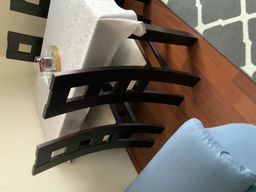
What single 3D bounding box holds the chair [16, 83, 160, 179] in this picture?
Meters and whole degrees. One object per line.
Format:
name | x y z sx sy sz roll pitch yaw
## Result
chair | -0.310 0.210 1.710 0.480 0.960 0.410 56 134 33
